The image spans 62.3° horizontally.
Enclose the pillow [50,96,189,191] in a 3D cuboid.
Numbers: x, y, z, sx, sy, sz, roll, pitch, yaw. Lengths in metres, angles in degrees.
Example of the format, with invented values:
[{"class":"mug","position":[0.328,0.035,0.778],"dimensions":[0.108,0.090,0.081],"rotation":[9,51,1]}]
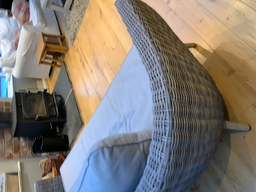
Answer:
[{"class":"pillow","position":[-0.090,0.330,1.000],"dimensions":[0.150,0.390,0.740],"rotation":[52,128,22]}]

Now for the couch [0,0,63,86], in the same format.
[{"class":"couch","position":[-1.870,-1.110,3.890],"dimensions":[1.130,0.770,1.410],"rotation":[-56,45,34]}]
